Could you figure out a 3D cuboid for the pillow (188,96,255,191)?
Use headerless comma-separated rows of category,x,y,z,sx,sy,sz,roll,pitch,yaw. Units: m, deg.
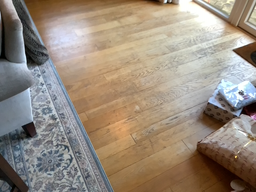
pillow,0.730,0.330,1.320,0.490,0.450,0.240,-35,3,-21
